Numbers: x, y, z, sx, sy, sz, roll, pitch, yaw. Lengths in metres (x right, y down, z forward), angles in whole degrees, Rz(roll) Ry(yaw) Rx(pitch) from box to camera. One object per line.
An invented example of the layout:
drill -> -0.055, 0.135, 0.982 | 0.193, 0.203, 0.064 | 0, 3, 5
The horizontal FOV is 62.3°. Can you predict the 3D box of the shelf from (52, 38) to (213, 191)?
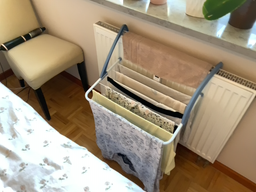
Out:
shelf -> 0.000, 0.120, 1.310 | 0.750, 0.610, 0.380 | 30, 53, 24
